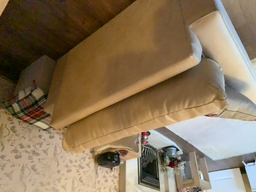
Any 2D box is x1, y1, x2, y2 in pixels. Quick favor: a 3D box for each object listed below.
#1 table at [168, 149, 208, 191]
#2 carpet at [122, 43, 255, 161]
[{"bbox_3d":[1.080,1.360,3.840,0.440,0.590,0.530,-24,140,30],"label":"table"},{"bbox_3d":[1.510,0.370,2.930,1.840,0.080,2.700,-26,139,33],"label":"carpet"}]
